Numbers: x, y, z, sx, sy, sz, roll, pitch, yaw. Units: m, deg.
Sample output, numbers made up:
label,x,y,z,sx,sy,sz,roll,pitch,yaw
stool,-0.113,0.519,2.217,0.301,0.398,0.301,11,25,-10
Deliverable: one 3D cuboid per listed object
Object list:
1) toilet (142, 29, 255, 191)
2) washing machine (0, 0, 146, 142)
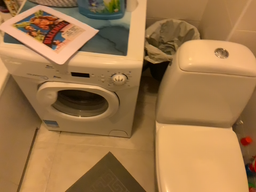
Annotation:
label,x,y,z,sx,sy,sz,roll,pitch,yaw
toilet,0.290,0.240,0.910,0.370,0.740,0.650,4,58,-2
washing machine,-0.210,-0.140,1.130,0.520,0.700,0.520,4,58,-2
